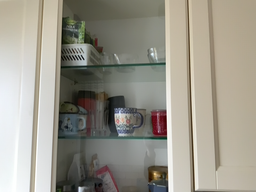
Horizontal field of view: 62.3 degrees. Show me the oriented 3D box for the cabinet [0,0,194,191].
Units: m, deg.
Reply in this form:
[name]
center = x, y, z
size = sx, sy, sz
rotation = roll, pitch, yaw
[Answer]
[cabinet]
center = -0.360, -0.030, 0.880
size = 1.150, 0.940, 0.360
rotation = 0, -6, 7
